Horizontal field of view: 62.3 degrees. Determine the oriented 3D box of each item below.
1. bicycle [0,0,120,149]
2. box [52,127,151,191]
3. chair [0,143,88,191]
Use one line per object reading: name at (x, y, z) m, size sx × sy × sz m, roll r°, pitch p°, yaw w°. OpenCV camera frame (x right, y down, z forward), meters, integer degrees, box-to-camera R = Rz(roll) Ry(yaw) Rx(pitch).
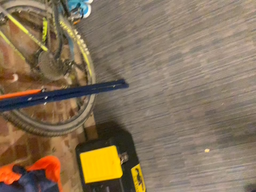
bicycle at (-0.650, -0.660, 1.200) m, size 0.330 × 0.970 × 1.820 m, roll -21°, pitch 79°, yaw 21°
box at (-0.120, 0.470, 1.170) m, size 0.330 × 0.330 × 0.490 m, roll -21°, pitch 79°, yaw 21°
chair at (-0.390, 0.380, 0.700) m, size 0.300 × 0.450 × 0.320 m, roll -19°, pitch 80°, yaw 22°
